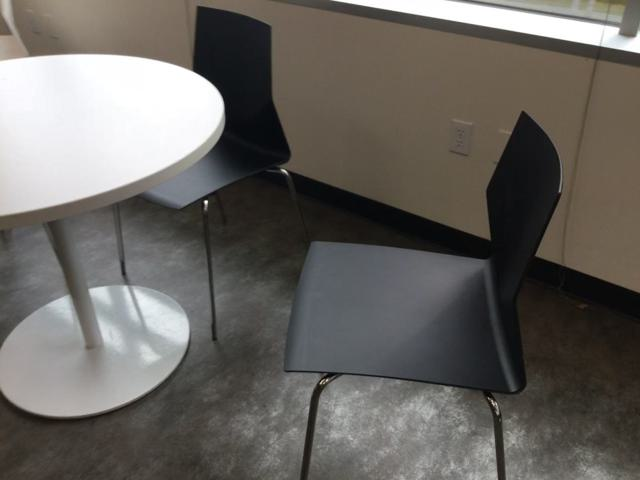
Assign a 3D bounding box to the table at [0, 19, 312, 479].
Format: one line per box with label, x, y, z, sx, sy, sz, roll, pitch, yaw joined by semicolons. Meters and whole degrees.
table;-0.670;-0.030;1.530;0.920;0.800;0.930;23;38;31
